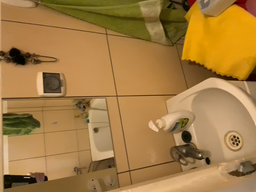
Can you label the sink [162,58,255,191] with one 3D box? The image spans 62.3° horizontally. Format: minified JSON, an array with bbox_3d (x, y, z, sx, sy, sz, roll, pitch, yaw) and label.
[{"bbox_3d":[0.310,0.150,0.680,0.330,0.140,0.420,-35,61,55],"label":"sink"}]
